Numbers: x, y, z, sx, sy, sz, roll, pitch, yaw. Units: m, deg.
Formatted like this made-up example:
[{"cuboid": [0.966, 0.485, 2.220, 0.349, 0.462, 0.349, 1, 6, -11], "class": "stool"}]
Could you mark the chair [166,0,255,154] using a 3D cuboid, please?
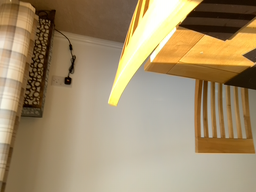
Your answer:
[{"cuboid": [0.610, -0.240, 1.280, 0.460, 1.060, 0.570, 4, 155, -12], "class": "chair"}]
